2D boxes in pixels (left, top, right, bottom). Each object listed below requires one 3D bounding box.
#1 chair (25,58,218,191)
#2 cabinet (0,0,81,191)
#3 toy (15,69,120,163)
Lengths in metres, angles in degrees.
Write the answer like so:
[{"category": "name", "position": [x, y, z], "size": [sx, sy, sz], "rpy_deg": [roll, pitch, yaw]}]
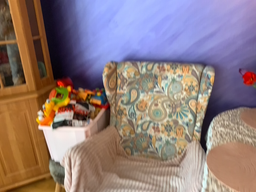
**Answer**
[{"category": "chair", "position": [0.100, 0.370, 1.420], "size": [0.760, 1.000, 1.020], "rpy_deg": [6, 24, 18]}, {"category": "cabinet", "position": [-1.050, -0.240, 1.730], "size": [0.810, 1.950, 0.760], "rpy_deg": [6, 24, 18]}, {"category": "toy", "position": [-0.400, 0.100, 1.670], "size": [0.470, 0.430, 0.660], "rpy_deg": [5, 24, 16]}]
